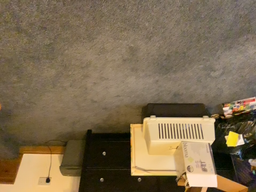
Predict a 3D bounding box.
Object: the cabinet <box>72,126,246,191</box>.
[{"bbox_3d":[0.280,0.860,2.250,1.580,0.950,0.510,0,144,0],"label":"cabinet"}]
